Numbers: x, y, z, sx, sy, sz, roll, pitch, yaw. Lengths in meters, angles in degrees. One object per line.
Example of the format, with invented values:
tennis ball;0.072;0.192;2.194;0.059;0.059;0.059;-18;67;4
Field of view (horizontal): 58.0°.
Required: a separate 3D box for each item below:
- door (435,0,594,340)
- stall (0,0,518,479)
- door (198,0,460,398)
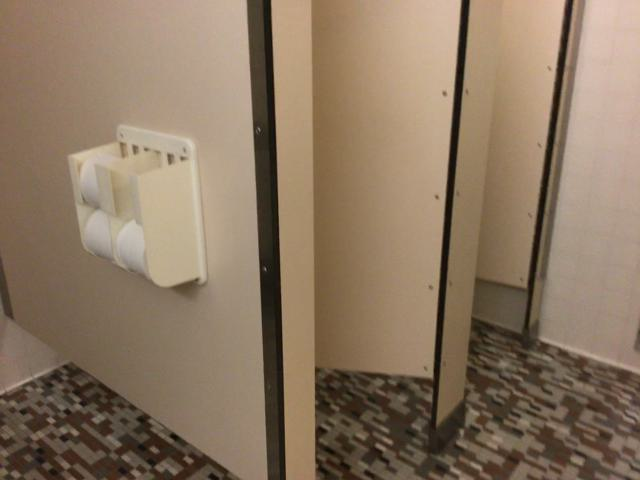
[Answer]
door;0.750;-0.280;2.340;0.470;1.300;0.220;14;26;37
stall;-0.330;-0.120;1.920;1.520;1.580;1.010;14;26;37
door;0.040;-0.080;1.650;0.650;1.130;0.100;2;21;11
